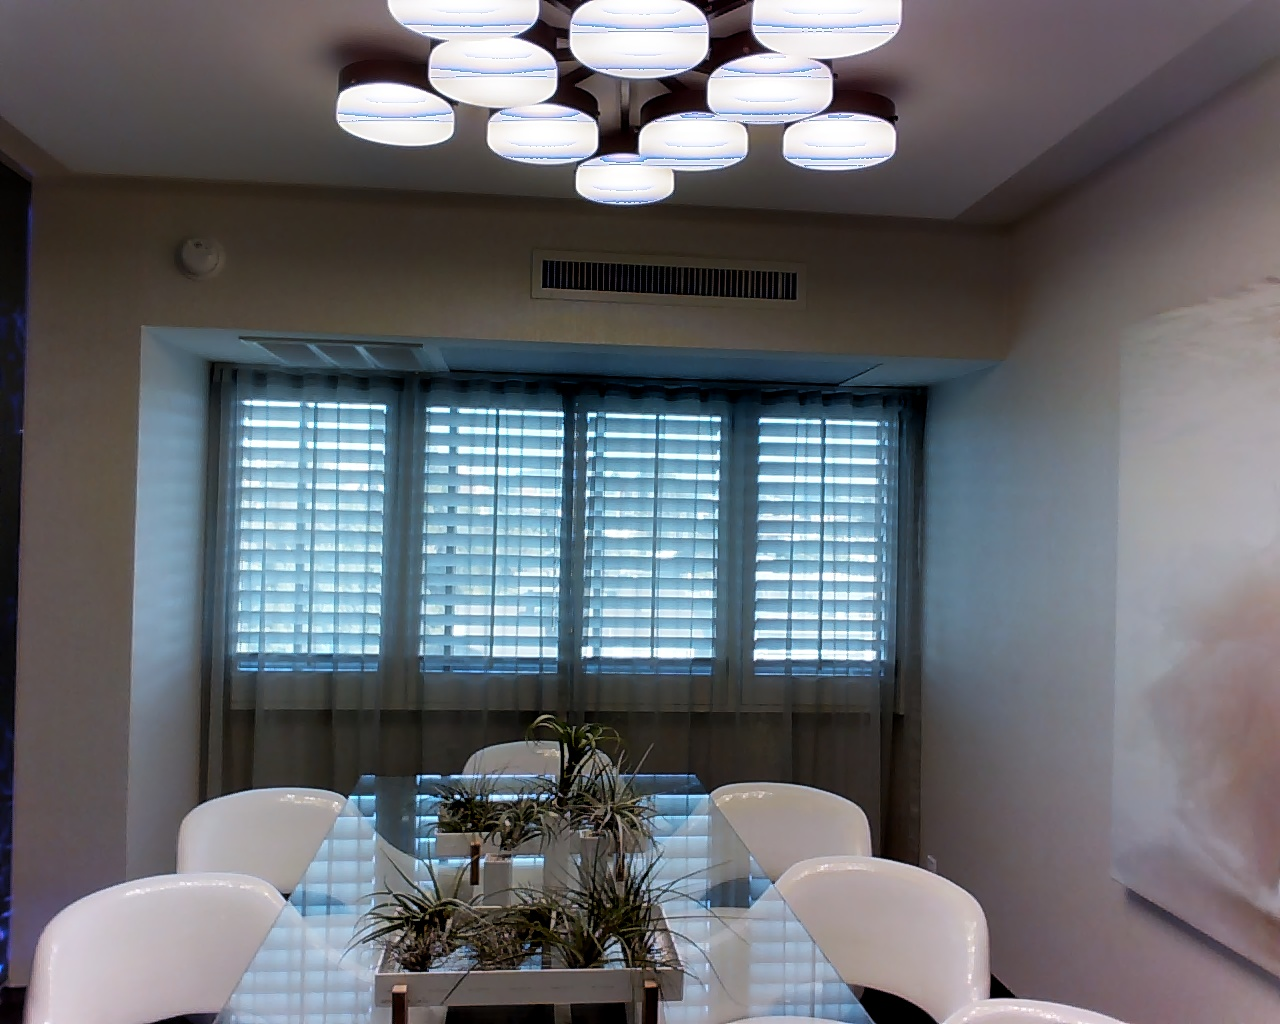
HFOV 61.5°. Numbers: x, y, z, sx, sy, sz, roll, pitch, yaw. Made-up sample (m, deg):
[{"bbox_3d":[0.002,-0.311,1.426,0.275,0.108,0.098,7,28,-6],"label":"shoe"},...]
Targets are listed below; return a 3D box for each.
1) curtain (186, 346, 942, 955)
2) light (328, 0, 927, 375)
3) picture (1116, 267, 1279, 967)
[{"bbox_3d":[-0.240,0.510,4.070,2.710,2.140,0.300,1,-1,-6],"label":"curtain"},{"bbox_3d":[-0.010,-0.870,2.140,1.140,1.140,0.150,1,-1,-6],"label":"light"},{"bbox_3d":[1.290,0.200,2.020,0.030,1.380,1.400,1,-1,-5],"label":"picture"}]
